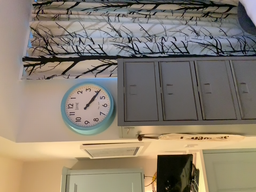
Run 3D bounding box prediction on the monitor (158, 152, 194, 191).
[{"bbox_3d":[0.460,0.840,2.050,0.040,0.340,0.590,-121,30,-83],"label":"monitor"}]
